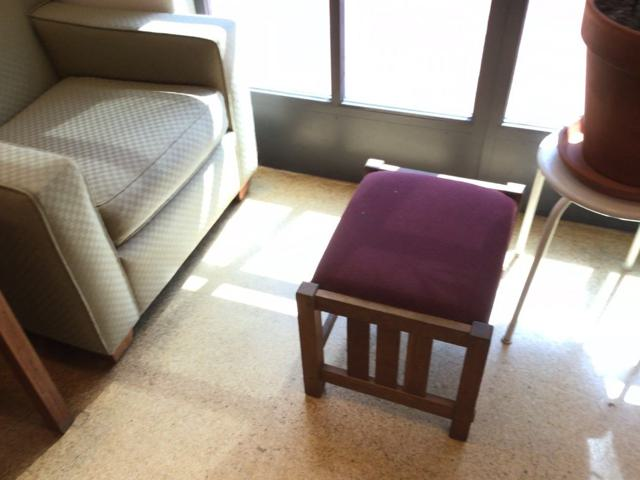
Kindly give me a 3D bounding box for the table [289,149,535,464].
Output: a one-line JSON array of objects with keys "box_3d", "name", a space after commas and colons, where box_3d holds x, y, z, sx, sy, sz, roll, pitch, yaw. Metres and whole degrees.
[{"box_3d": [0.230, 0.130, 1.360, 0.410, 0.440, 0.500, 11, 42, 17], "name": "table"}]
